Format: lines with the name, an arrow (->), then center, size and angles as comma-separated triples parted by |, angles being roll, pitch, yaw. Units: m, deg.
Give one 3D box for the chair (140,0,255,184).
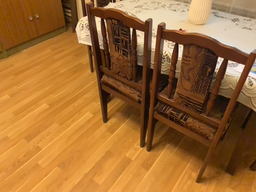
chair -> 0.410, 0.000, 1.260 | 0.430, 0.910, 0.470 | 28, 48, 27
